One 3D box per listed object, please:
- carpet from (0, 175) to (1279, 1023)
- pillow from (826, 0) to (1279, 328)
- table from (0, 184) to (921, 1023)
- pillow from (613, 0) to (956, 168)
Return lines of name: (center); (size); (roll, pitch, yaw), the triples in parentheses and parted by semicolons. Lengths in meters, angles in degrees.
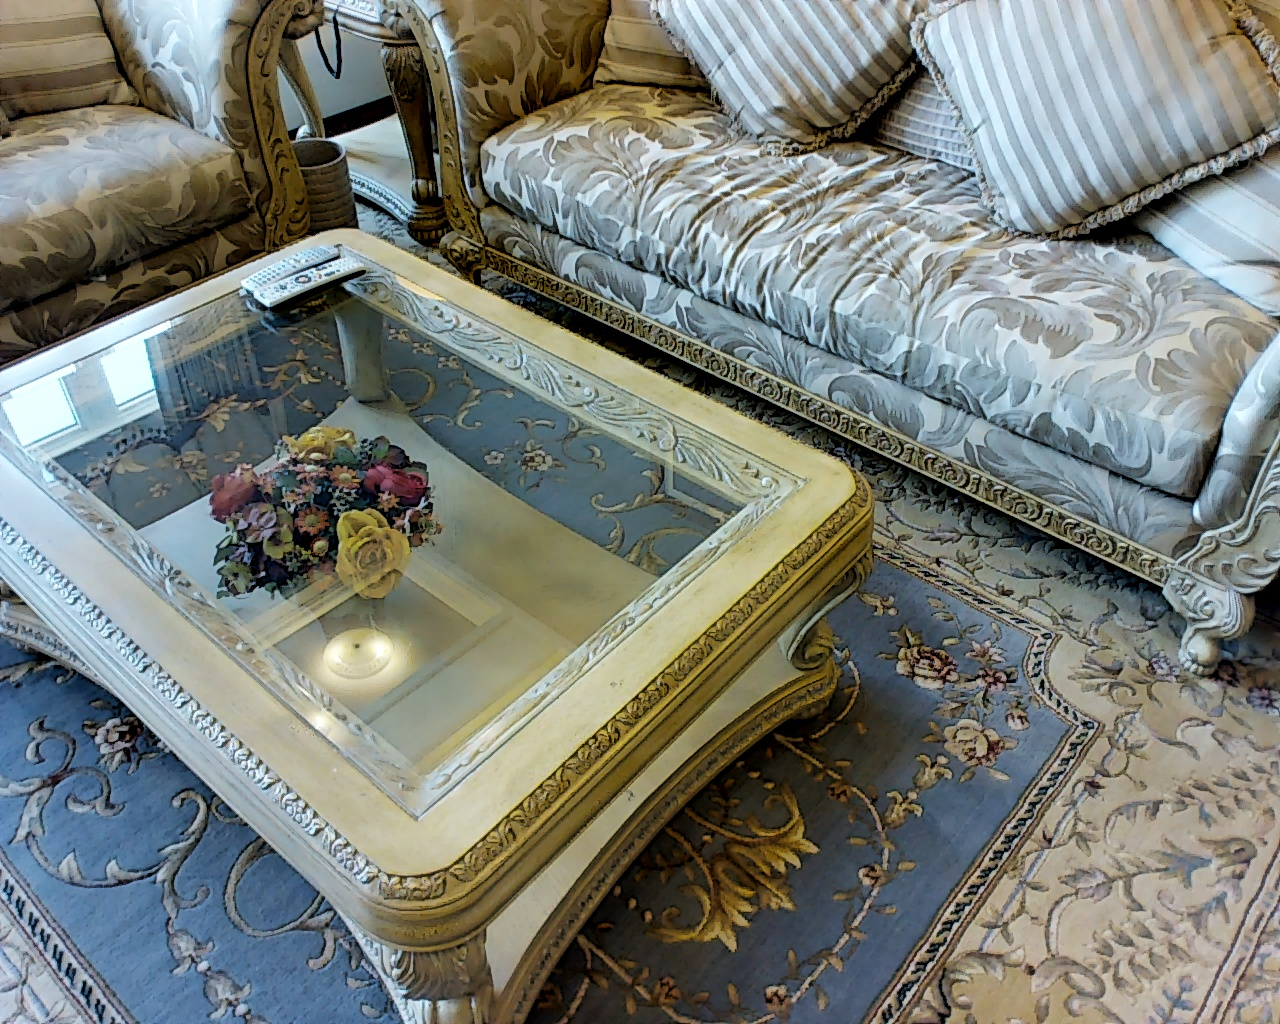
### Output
carpet: (-0.630, 0.220, 1.900); (3.340, 0.010, 2.080); (31, 50, 29)
pillow: (0.870, -0.820, 1.970); (0.860, 0.560, 0.460); (26, 48, 26)
table: (-0.420, 0.060, 1.730); (1.330, 0.510, 0.950); (31, 50, 30)
pillow: (0.330, -1.140, 2.350); (0.360, 0.540, 0.590); (0, 27, -43)
